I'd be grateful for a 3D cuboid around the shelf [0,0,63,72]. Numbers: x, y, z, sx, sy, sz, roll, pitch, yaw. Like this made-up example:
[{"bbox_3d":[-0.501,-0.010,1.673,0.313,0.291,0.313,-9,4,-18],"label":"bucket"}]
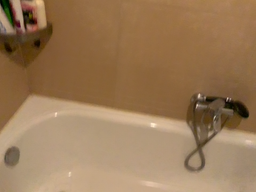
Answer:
[{"bbox_3d":[-0.440,-0.480,0.820,0.250,0.730,0.180,-22,47,-32],"label":"shelf"}]
